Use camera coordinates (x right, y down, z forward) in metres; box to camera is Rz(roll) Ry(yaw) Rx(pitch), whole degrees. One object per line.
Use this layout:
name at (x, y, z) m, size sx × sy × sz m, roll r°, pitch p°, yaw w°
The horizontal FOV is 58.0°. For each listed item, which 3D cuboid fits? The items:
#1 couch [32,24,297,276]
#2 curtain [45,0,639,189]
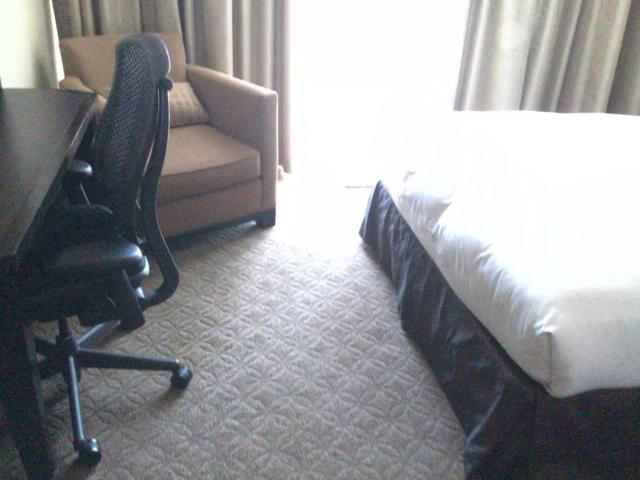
couch at (-0.760, -0.530, 2.850) m, size 0.850 × 0.850 × 1.020 m, roll -17°, pitch 33°, yaw -33°
curtain at (0.220, -1.340, 3.200) m, size 3.160 × 1.980 × 0.540 m, roll -2°, pitch 28°, yaw -9°
